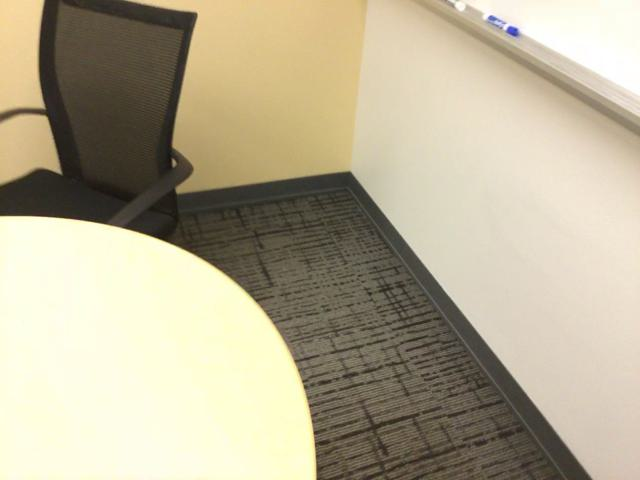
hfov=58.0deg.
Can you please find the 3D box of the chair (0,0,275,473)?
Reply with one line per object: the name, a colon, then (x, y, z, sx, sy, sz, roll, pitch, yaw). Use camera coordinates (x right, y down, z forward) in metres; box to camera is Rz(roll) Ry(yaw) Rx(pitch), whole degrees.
chair: (-0.540, -0.070, 1.390, 0.610, 0.860, 0.610, 20, 37, 20)
